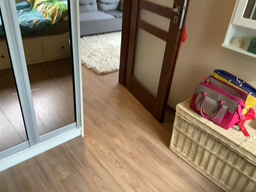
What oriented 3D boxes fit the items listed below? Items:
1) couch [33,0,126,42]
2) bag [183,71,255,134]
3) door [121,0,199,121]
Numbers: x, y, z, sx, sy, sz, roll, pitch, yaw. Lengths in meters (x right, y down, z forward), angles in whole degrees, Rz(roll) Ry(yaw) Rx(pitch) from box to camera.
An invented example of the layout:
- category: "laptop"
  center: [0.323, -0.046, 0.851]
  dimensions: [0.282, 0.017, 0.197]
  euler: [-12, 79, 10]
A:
- category: "couch"
  center: [-1.010, -1.820, 4.610]
  dimensions: [1.670, 0.780, 0.970]
  euler: [-21, 41, -36]
- category: "bag"
  center: [0.700, 0.030, 1.630]
  dimensions: [0.350, 0.250, 0.360]
  euler: [-20, 40, -35]
- category: "door"
  center: [0.270, -0.870, 1.980]
  dimensions: [0.120, 2.080, 0.920]
  euler: [-11, 36, -26]
